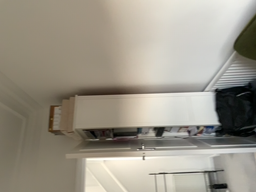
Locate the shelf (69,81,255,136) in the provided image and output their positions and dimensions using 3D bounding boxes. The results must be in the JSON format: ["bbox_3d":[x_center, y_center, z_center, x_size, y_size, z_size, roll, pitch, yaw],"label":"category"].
[{"bbox_3d":[0.440,0.160,2.300,0.530,1.990,0.420,86,-178,-71],"label":"shelf"}]
